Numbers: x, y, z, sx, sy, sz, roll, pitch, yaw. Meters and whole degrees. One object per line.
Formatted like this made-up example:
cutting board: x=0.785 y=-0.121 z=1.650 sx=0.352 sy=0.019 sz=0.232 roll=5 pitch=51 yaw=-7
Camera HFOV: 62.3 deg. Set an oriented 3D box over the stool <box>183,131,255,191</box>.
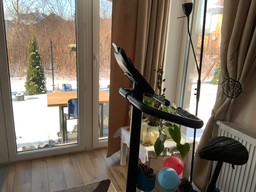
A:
stool: x=0.530 y=0.680 z=1.350 sx=0.270 sy=0.850 sz=0.230 roll=-4 pitch=16 yaw=-23
